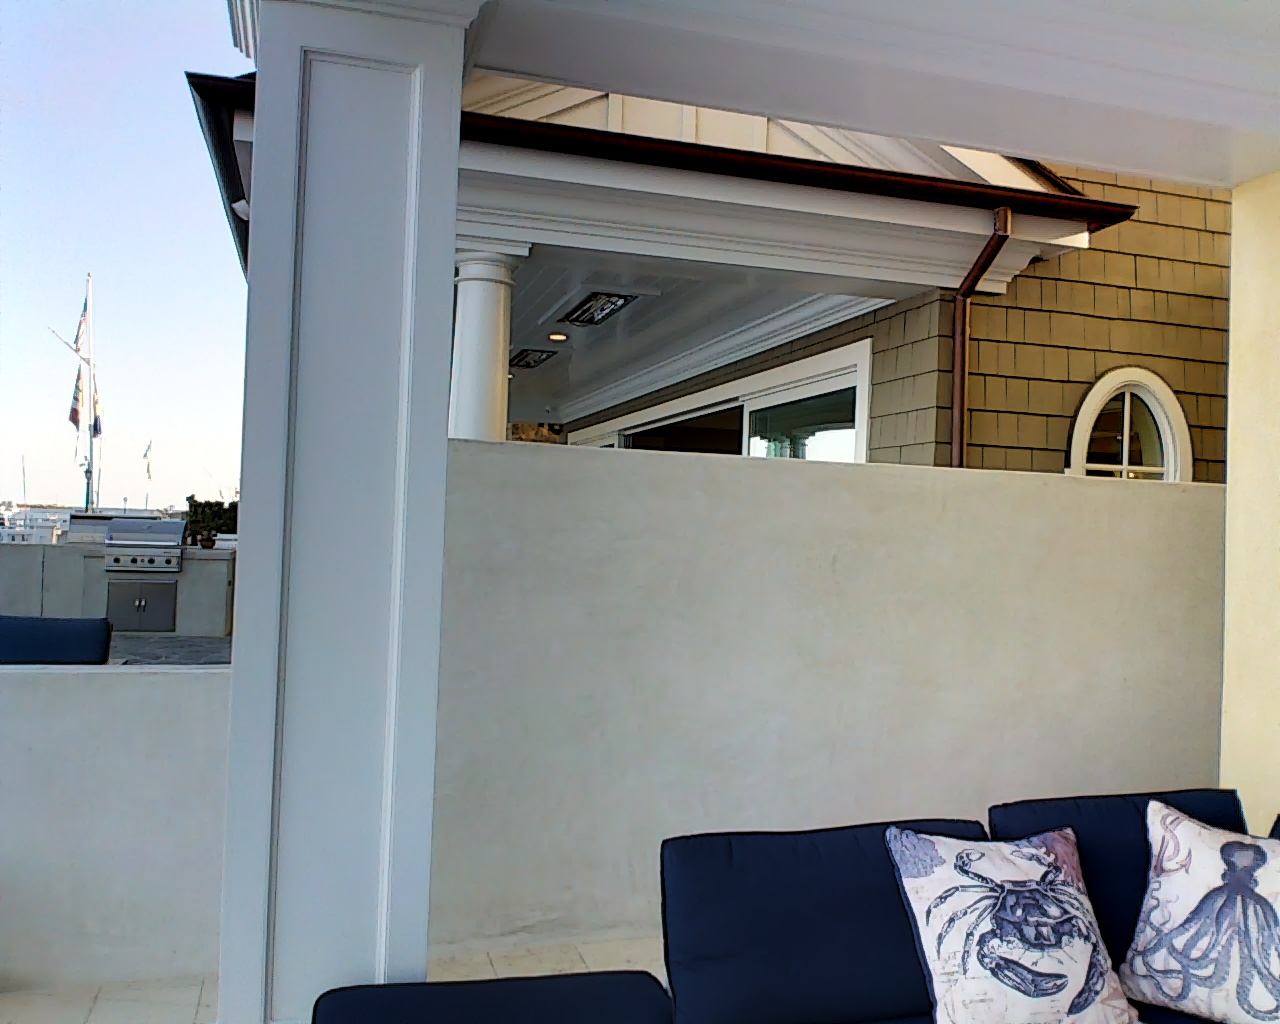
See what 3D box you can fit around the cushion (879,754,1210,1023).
[{"bbox_3d":[0.850,0.870,2.240,0.530,0.470,0.140,-36,9,-13],"label":"cushion"}]
